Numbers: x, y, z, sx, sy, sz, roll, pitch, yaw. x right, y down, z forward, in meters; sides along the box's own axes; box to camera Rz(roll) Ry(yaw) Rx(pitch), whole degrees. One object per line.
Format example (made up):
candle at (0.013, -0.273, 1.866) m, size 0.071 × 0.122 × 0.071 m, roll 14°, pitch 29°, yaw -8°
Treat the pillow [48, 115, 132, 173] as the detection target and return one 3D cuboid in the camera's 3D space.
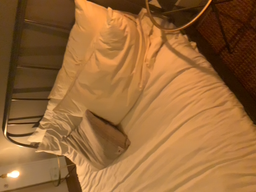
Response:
pillow at (-0.220, 0.320, 1.360) m, size 0.440 × 0.330 × 0.110 m, roll -20°, pitch 57°, yaw -4°
